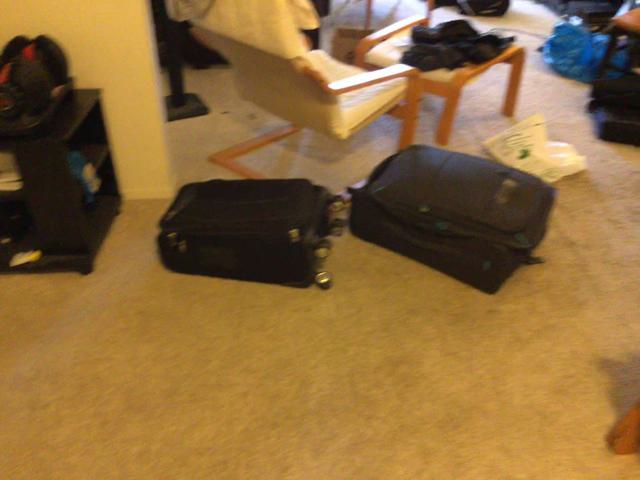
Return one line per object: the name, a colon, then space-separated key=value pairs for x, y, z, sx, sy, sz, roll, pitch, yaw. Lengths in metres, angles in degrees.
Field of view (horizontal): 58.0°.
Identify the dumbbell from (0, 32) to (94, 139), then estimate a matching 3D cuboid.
dumbbell: x=-0.900 y=-0.500 z=1.840 sx=0.210 sy=0.220 sz=0.380 roll=-1 pitch=33 yaw=-3
